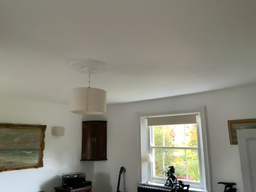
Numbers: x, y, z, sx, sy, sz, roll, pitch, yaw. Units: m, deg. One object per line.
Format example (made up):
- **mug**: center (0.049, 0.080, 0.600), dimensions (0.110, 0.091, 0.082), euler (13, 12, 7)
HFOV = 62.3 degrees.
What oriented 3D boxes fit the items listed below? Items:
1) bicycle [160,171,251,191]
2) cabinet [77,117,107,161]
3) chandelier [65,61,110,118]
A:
- **bicycle**: center (1.200, 1.870, 3.290), dimensions (1.220, 1.160, 0.610), euler (-10, -15, 41)
- **cabinet**: center (-0.860, 1.040, 5.170), dimensions (0.680, 1.020, 0.350), euler (2, -12, -7)
- **chandelier**: center (-0.440, -0.060, 2.420), dimensions (0.430, 0.580, 0.340), euler (0, -12, 0)
